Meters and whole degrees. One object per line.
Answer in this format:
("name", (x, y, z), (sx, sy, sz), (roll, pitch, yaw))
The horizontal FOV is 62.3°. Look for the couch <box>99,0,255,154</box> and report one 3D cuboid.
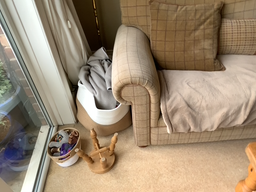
("couch", (1.110, -0.320, 1.610), (2.400, 0.920, 1.140), (-1, 42, 3))
